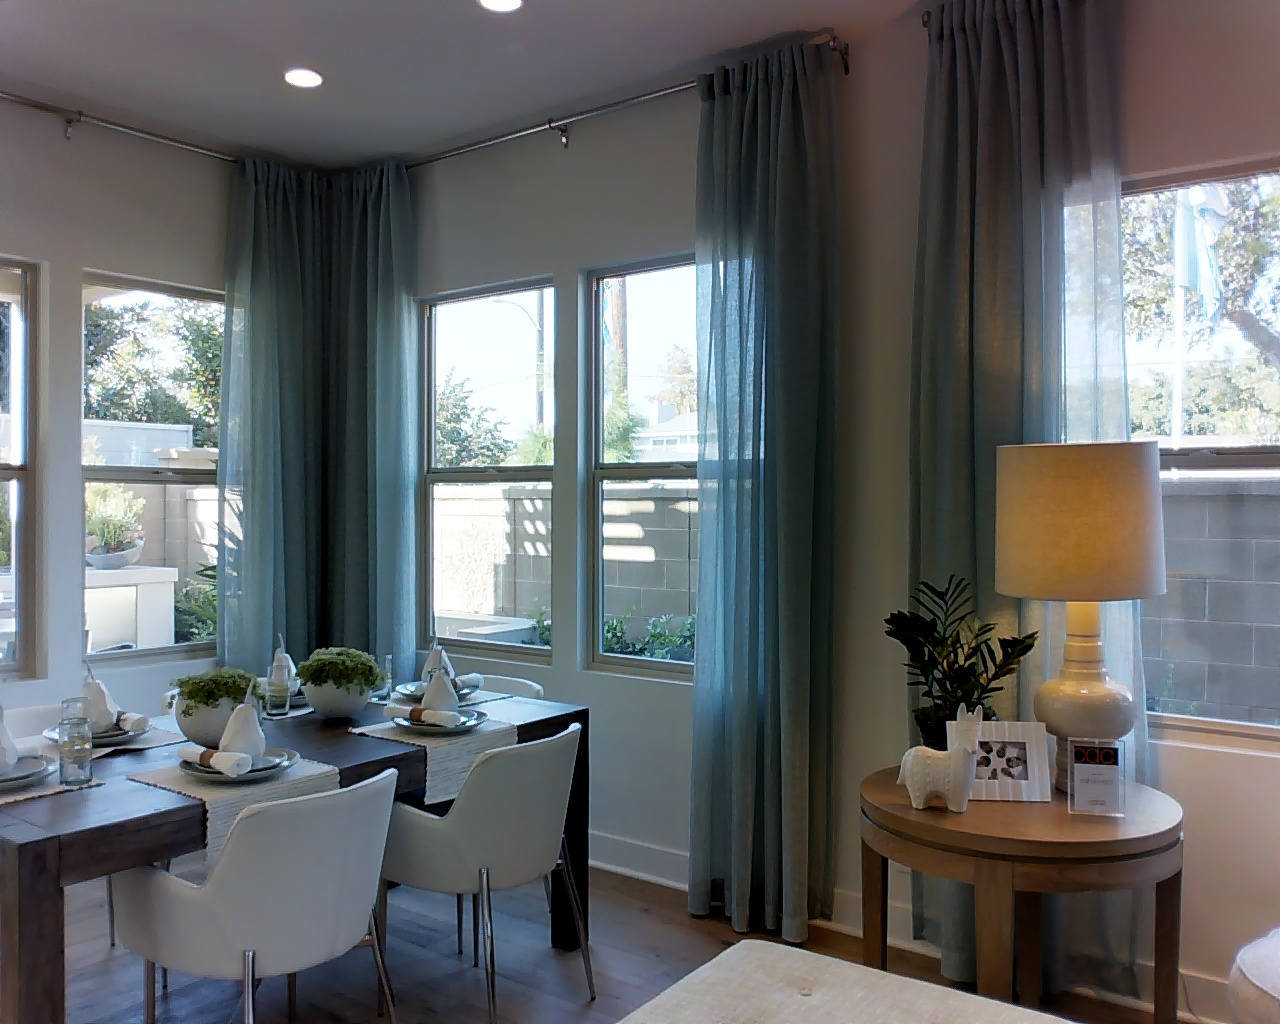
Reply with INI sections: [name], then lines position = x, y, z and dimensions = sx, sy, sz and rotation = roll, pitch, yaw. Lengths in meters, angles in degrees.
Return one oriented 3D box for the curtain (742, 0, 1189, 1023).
[curtain]
position = 0.960, -0.070, 3.340
dimensions = 1.260, 3.051, 0.340
rotation = 1, 1, 37
